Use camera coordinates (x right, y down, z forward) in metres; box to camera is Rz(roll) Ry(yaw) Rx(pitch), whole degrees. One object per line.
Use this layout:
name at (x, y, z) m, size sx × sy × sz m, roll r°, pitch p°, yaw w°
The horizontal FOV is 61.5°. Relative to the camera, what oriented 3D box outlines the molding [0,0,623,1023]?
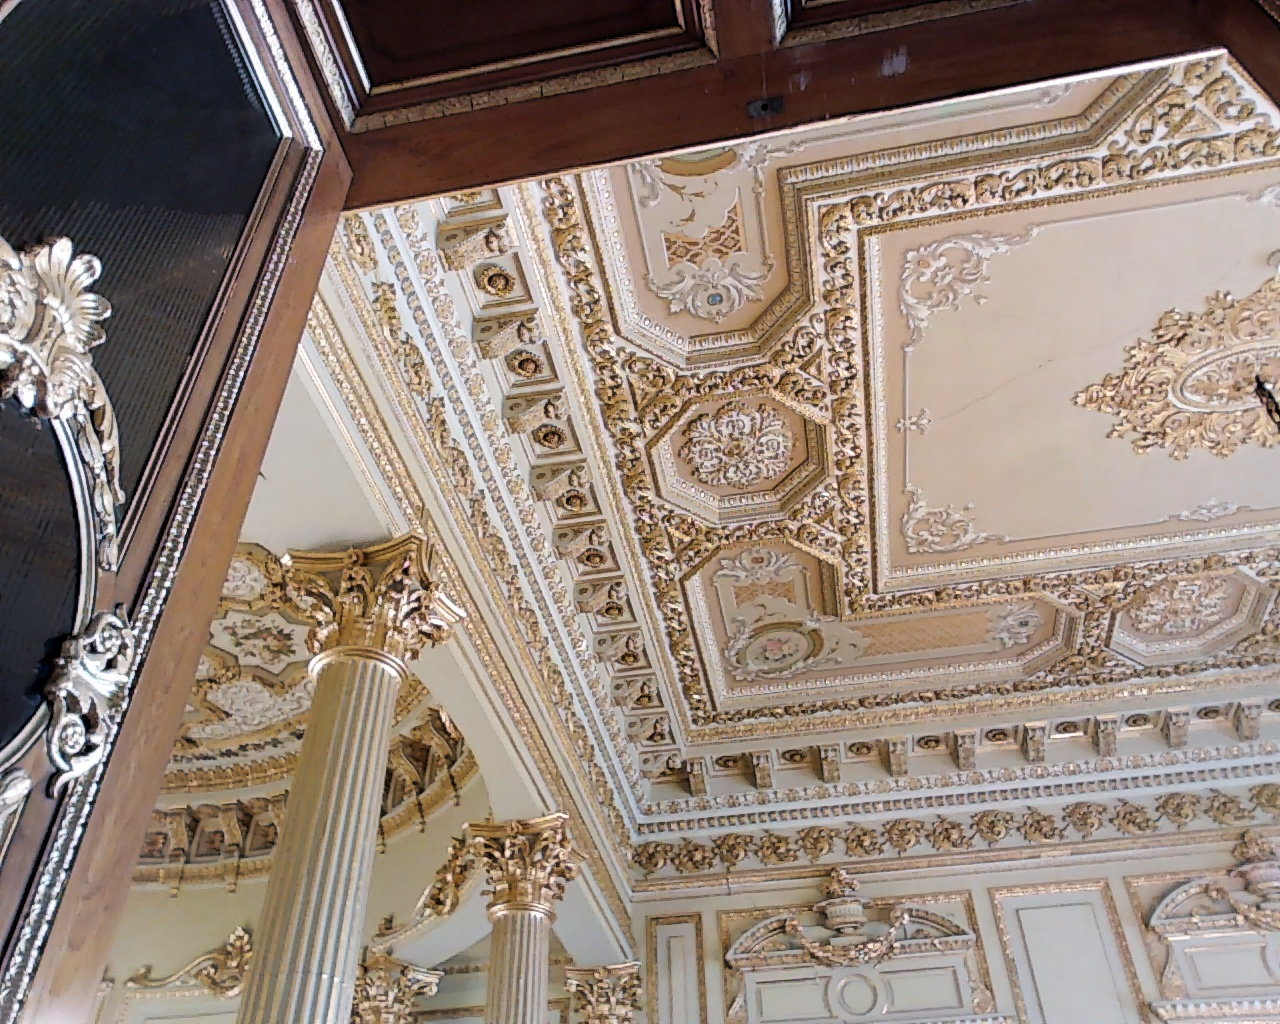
molding at (-3.567, 1.271, 6.090) m, size 5.656 × 1.431 × 6.852 m, roll -8°, pitch -43°, yaw 8°
